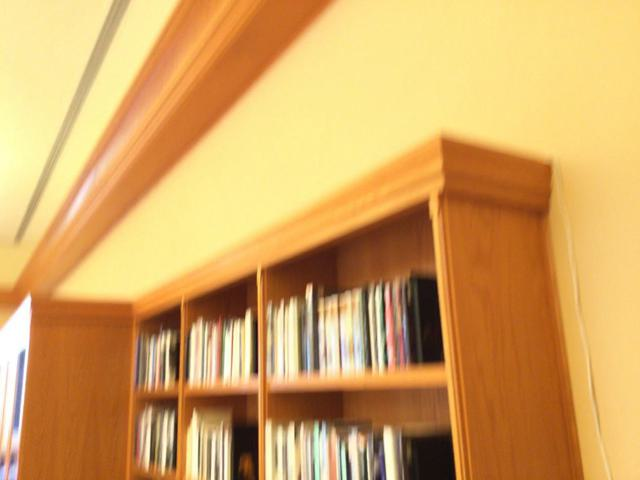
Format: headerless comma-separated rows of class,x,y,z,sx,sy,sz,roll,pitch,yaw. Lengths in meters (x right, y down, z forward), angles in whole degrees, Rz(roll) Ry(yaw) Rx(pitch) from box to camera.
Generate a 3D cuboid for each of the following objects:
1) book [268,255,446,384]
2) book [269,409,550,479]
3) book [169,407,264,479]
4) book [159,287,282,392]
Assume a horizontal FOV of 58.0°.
book,0.060,0.260,1.660,0.120,0.280,0.710,7,-17,-30
book,0.190,0.740,1.570,0.340,0.520,0.800,7,-17,-30
book,-0.430,0.830,2.320,0.170,0.300,0.590,7,-17,-30
book,-0.450,0.450,2.410,0.140,0.340,1.000,7,-17,-30
